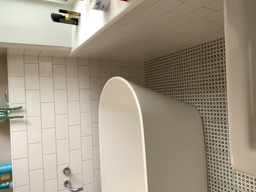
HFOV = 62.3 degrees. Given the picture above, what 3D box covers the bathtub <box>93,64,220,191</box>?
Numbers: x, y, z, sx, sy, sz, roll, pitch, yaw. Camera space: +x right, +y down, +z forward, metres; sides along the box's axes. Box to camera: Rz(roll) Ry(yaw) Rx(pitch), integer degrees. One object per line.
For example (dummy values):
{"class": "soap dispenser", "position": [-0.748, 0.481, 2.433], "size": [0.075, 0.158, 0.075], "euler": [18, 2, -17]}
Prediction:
{"class": "bathtub", "position": [0.170, 0.690, 1.570], "size": [0.770, 0.540, 1.720], "euler": [-2, 90, 60]}
